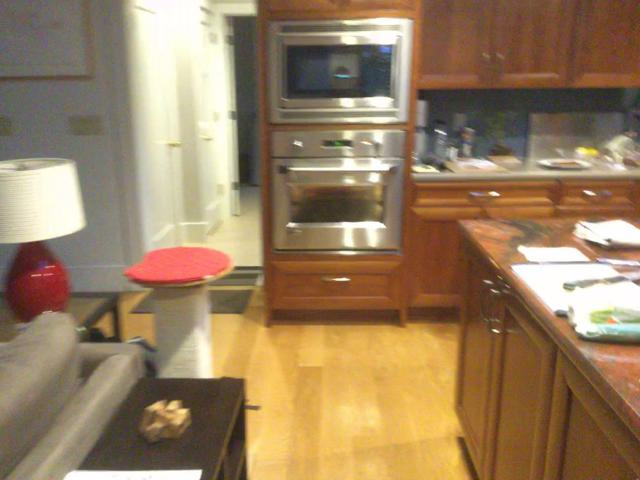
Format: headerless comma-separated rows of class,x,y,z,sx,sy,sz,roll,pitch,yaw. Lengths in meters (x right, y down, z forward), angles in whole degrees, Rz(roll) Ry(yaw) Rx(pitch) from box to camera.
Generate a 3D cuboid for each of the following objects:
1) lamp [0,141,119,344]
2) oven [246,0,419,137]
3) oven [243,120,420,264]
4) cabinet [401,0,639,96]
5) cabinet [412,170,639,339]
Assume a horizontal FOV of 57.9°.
lamp,-0.980,-0.010,1.960,0.380,0.590,0.410,-1,17,2
oven,0.070,-0.850,2.890,0.810,0.620,0.220,-1,17,2
oven,0.070,-0.250,3.020,0.860,0.700,0.230,-1,17,2
cabinet,1.110,-1.310,3.020,1.330,1.030,0.290,-1,17,2
cabinet,1.140,0.090,3.100,1.260,0.880,0.140,-1,17,2
